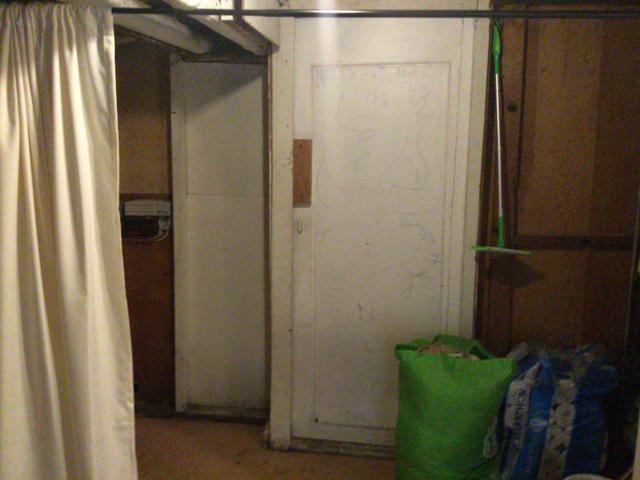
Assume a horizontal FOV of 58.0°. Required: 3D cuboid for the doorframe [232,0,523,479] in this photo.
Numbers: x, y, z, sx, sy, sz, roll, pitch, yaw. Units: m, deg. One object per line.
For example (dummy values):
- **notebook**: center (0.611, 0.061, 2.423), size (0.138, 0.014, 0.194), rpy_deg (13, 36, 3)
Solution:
- **doorframe**: center (0.250, 0.010, 2.560), size (1.110, 2.080, 0.390), rpy_deg (0, 9, 9)
